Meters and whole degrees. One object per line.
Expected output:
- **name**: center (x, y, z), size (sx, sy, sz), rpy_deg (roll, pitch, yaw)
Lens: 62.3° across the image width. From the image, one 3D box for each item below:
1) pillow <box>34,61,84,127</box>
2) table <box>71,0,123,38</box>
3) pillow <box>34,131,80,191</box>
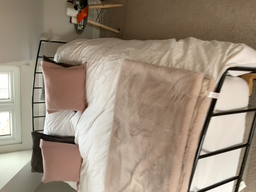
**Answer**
- **pillow**: center (-0.610, -0.040, 1.970), size (0.170, 0.470, 0.490), rpy_deg (6, 108, 17)
- **table**: center (-0.360, -0.910, 2.390), size (0.420, 0.420, 0.430), rpy_deg (27, 114, 55)
- **pillow**: center (-0.680, 0.670, 2.100), size (0.180, 0.430, 0.470), rpy_deg (11, 109, 21)
